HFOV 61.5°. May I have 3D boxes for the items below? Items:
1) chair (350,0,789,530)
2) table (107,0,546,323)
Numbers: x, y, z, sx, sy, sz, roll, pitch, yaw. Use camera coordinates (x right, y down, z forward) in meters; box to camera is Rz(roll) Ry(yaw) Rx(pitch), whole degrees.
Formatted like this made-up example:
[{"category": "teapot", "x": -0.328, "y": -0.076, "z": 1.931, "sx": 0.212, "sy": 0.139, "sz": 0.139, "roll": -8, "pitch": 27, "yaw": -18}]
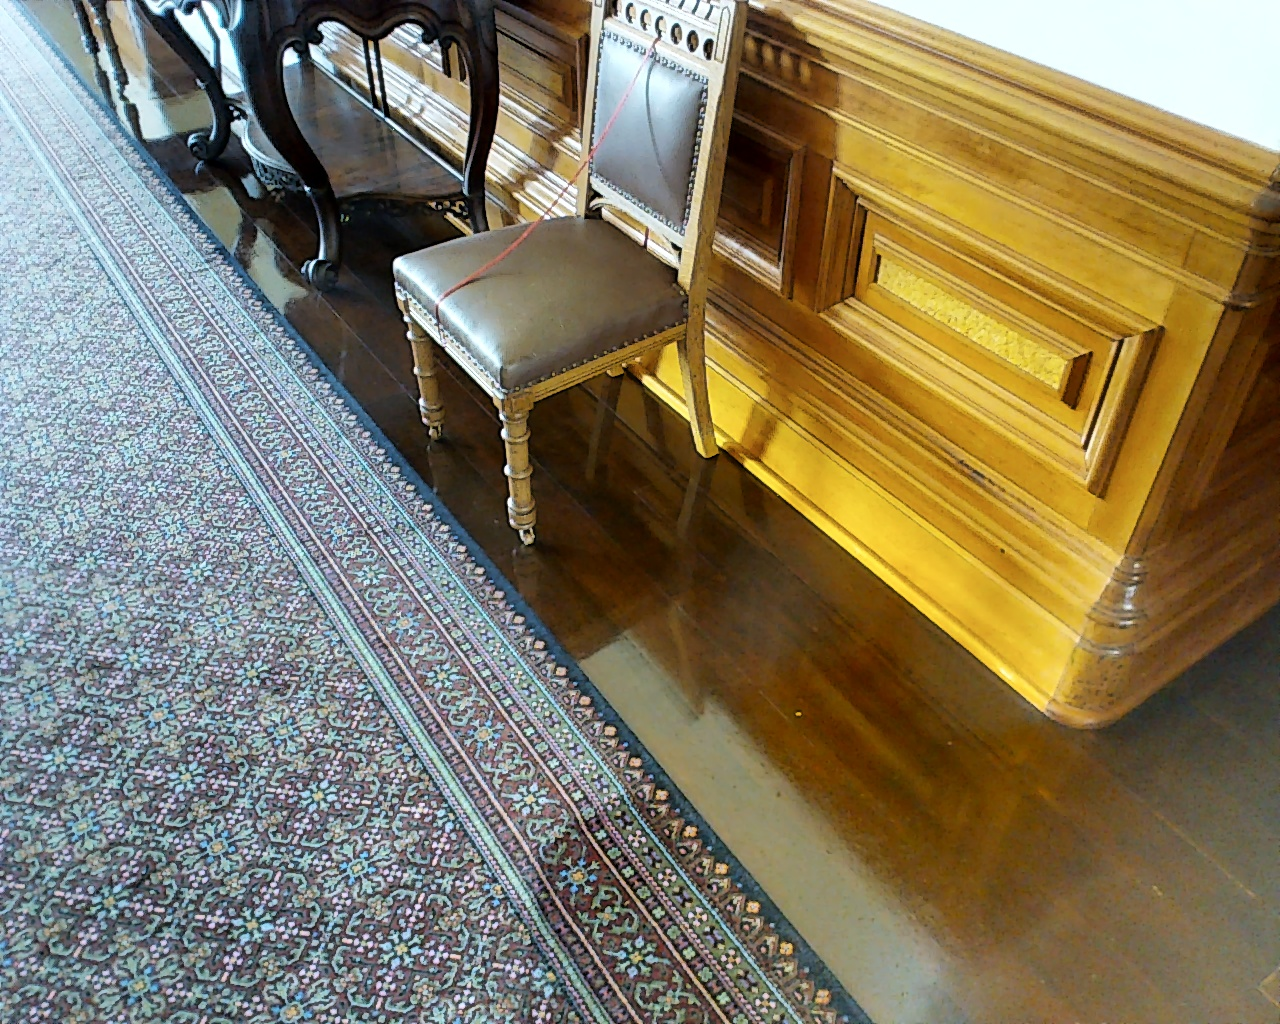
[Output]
[{"category": "chair", "x": -0.140, "y": -0.580, "z": 2.250, "sx": 0.590, "sy": 0.950, "sz": 0.560, "roll": -24, "pitch": 47, "yaw": -25}, {"category": "table", "x": -1.050, "y": -1.580, "z": 3.150, "sx": 0.720, "sy": 1.260, "sz": 1.690, "roll": -24, "pitch": 47, "yaw": -25}]
